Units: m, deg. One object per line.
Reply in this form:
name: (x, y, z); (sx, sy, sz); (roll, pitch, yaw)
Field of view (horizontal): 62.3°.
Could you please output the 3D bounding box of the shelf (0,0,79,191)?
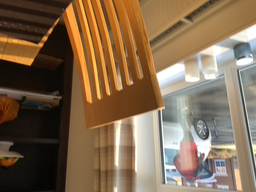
shelf: (-0.910, 0.200, 1.550); (0.920, 1.790, 0.400); (10, 160, -34)
